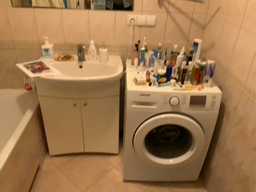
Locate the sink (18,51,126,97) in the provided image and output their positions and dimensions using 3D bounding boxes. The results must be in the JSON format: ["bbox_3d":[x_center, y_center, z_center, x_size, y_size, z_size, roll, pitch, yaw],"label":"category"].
[{"bbox_3d":[-0.370,-0.180,1.600,0.680,0.150,0.470,1,30,-5],"label":"sink"}]
